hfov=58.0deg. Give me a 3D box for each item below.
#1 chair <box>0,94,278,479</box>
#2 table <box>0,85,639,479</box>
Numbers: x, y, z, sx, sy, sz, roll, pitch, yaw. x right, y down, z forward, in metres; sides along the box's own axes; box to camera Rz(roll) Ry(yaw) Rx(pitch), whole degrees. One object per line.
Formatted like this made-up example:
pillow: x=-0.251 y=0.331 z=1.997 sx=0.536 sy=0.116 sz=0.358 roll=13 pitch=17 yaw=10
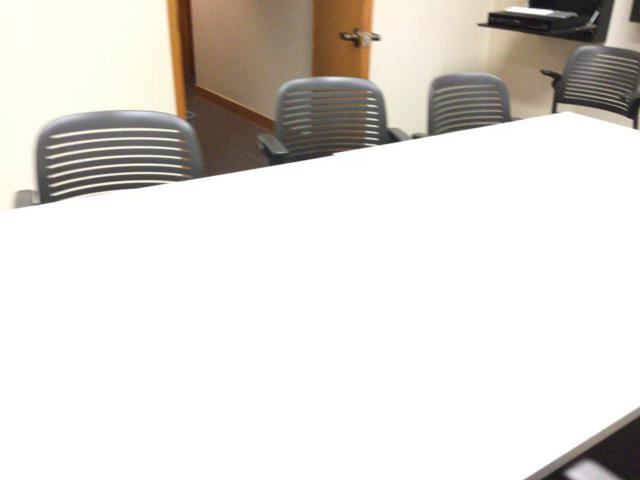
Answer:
chair: x=-0.550 y=0.070 z=1.700 sx=0.620 sy=0.820 sz=0.590 roll=-16 pitch=32 yaw=-34
table: x=0.340 y=0.170 z=1.760 sx=1.410 sy=0.780 sz=2.430 roll=25 pitch=33 yaw=38
